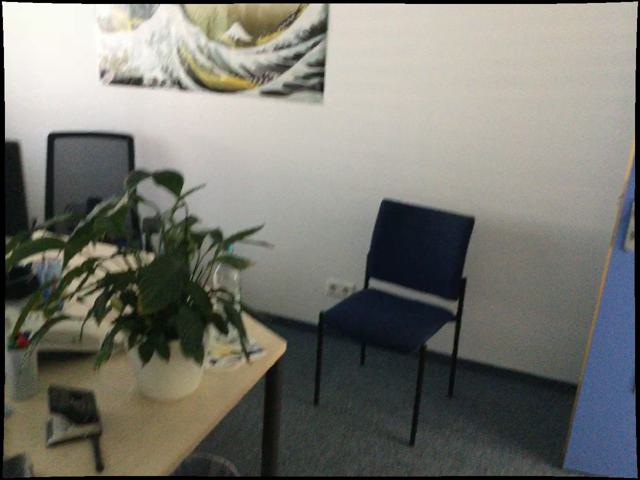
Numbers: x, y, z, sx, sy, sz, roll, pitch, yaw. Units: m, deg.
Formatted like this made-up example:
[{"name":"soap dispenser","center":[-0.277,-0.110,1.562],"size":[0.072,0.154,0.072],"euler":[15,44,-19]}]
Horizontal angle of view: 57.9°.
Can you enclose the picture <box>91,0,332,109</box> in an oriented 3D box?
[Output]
[{"name":"picture","center":[-0.579,-1.201,2.840],"size":[1.349,0.971,0.120],"euler":[11,23,23]}]
